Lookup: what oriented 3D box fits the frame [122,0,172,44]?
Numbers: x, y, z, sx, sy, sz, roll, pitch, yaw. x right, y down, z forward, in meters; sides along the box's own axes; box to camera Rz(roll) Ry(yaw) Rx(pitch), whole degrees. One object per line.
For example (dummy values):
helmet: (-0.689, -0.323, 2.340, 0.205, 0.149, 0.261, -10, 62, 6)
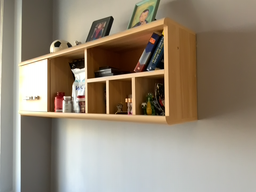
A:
frame: (0.090, -0.370, 1.030, 0.200, 0.180, 0.130, -1, -2, 41)
